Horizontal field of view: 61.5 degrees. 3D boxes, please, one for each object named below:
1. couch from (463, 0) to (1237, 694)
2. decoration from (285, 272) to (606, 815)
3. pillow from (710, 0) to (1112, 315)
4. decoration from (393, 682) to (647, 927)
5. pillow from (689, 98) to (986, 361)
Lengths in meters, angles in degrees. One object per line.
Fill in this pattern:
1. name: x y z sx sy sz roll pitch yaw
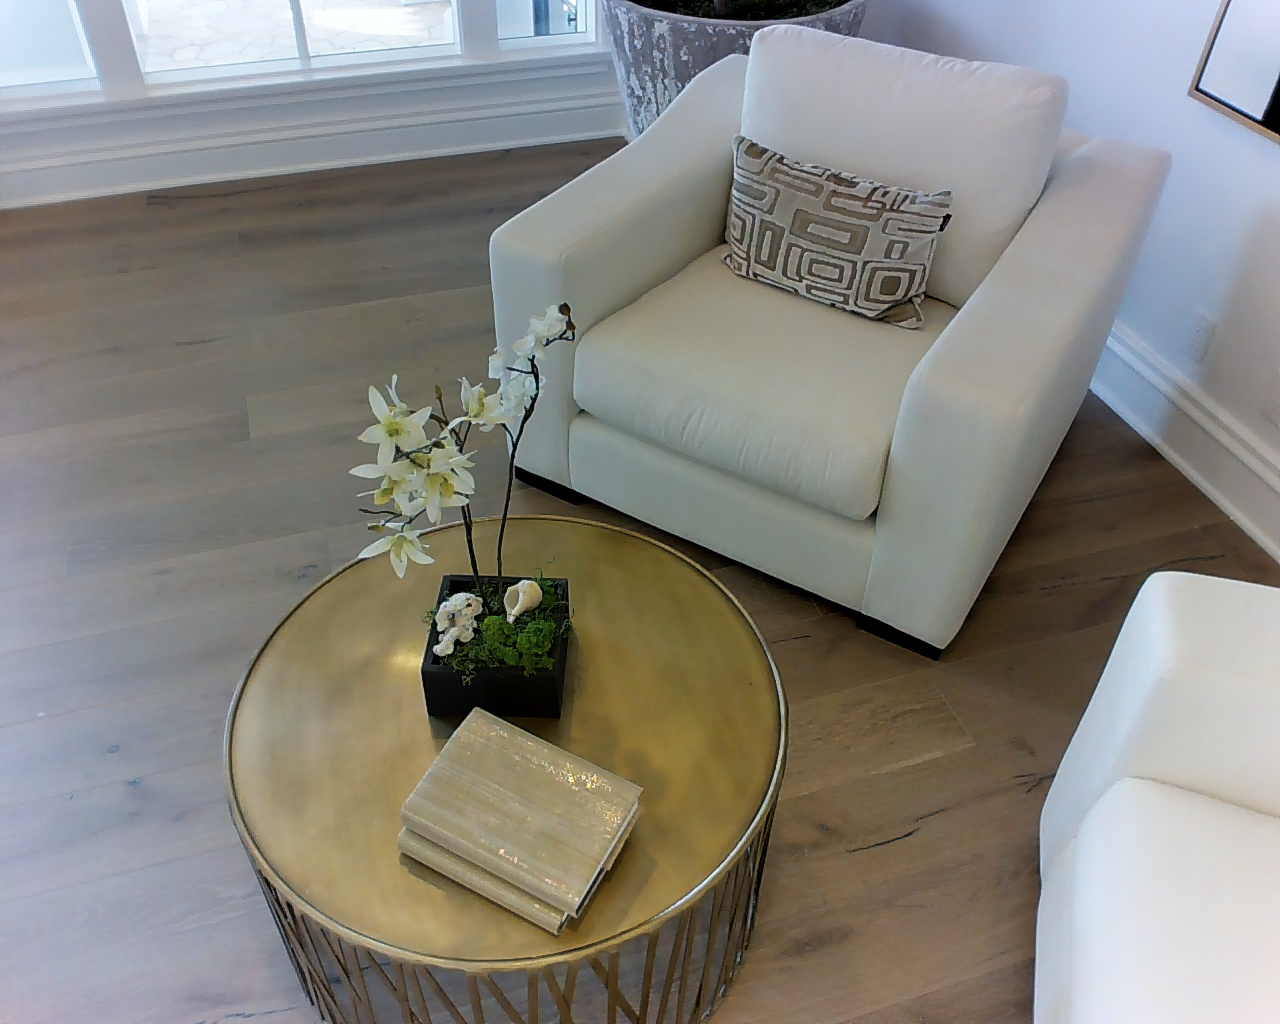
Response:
1. couch: 0.440 -0.500 2.370 1.120 0.920 1.100 24 46 23
2. decoration: -0.190 0.050 1.300 0.250 0.550 0.340 6 42 5
3. pillow: 0.550 -0.790 2.330 0.720 0.440 0.290 24 47 23
4. decoration: -0.140 0.350 1.320 0.230 0.090 0.210 18 44 17
5. pillow: 0.400 -0.590 2.230 0.500 0.300 0.170 37 31 14
